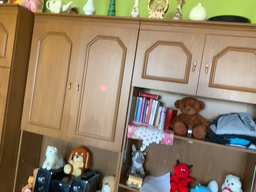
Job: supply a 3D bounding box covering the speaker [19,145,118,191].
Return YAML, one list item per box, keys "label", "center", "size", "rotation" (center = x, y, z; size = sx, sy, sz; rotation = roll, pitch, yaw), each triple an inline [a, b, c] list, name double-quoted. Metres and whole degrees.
- label: "speaker"
  center: [-0.490, 0.740, 1.780]
  size: [0.680, 0.450, 0.360]
  rotation: [9, 2, 16]
